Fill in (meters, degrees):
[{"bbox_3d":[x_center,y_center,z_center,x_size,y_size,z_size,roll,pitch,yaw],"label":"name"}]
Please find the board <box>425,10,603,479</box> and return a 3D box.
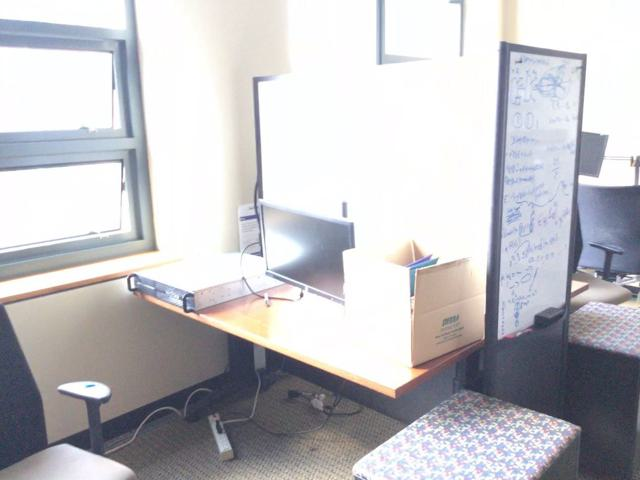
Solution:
[{"bbox_3d":[0.700,0.130,1.930,0.760,1.630,0.160,-15,14,-41],"label":"board"}]
